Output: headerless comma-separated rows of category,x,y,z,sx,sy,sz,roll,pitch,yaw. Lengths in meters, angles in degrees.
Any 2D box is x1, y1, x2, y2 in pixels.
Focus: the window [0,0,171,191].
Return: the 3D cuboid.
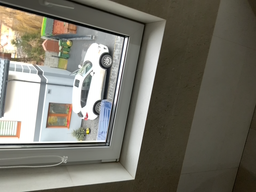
window,-0.520,-0.050,0.870,0.260,1.330,0.890,28,109,58
